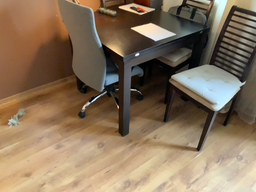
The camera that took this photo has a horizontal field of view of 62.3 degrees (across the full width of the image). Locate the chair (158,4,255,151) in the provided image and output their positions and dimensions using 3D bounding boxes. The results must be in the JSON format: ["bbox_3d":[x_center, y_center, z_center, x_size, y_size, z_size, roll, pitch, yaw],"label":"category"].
[{"bbox_3d":[0.650,-0.140,1.660,0.530,0.920,0.480,-22,44,-28],"label":"chair"}]

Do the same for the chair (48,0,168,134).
[{"bbox_3d":[-0.170,-0.320,1.840,0.650,0.940,0.610,-24,45,-30],"label":"chair"}]

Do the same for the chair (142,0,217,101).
[{"bbox_3d":[0.470,-0.510,2.090,0.470,0.960,0.370,-28,47,-33],"label":"chair"}]
